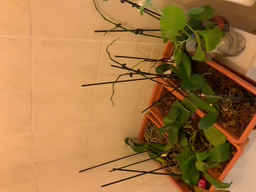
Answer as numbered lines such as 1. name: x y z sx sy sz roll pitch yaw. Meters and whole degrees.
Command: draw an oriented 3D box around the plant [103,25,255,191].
1. plant: 0.220 0.110 0.910 0.460 0.400 0.660 46 132 45
